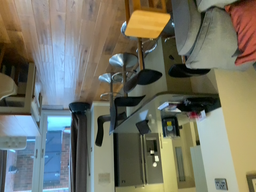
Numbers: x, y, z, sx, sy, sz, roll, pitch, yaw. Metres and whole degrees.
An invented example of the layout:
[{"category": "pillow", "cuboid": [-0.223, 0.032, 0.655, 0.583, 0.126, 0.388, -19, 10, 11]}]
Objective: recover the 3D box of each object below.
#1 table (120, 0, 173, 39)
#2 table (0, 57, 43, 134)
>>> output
[{"category": "table", "cuboid": [0.140, -0.750, 1.800, 0.320, 0.370, 0.310, 3, 160, -18]}, {"category": "table", "cuboid": [-1.940, 0.100, 3.390, 0.910, 0.760, 1.610, 3, 160, -16]}]
